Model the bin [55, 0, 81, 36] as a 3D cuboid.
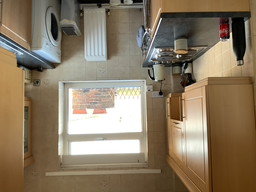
[{"bbox_3d":[-0.770,-1.100,2.760,0.240,0.530,0.370,-1,177,-1],"label":"bin"}]
